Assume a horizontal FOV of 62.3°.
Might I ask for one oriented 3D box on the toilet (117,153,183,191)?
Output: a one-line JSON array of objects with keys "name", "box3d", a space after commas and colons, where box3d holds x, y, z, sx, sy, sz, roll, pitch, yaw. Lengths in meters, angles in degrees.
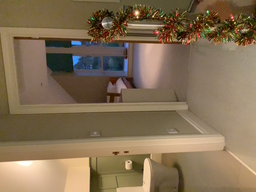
[{"name": "toilet", "box3d": [0.280, 1.190, 3.020, 0.420, 0.830, 0.560, -123, 34, -72]}]
